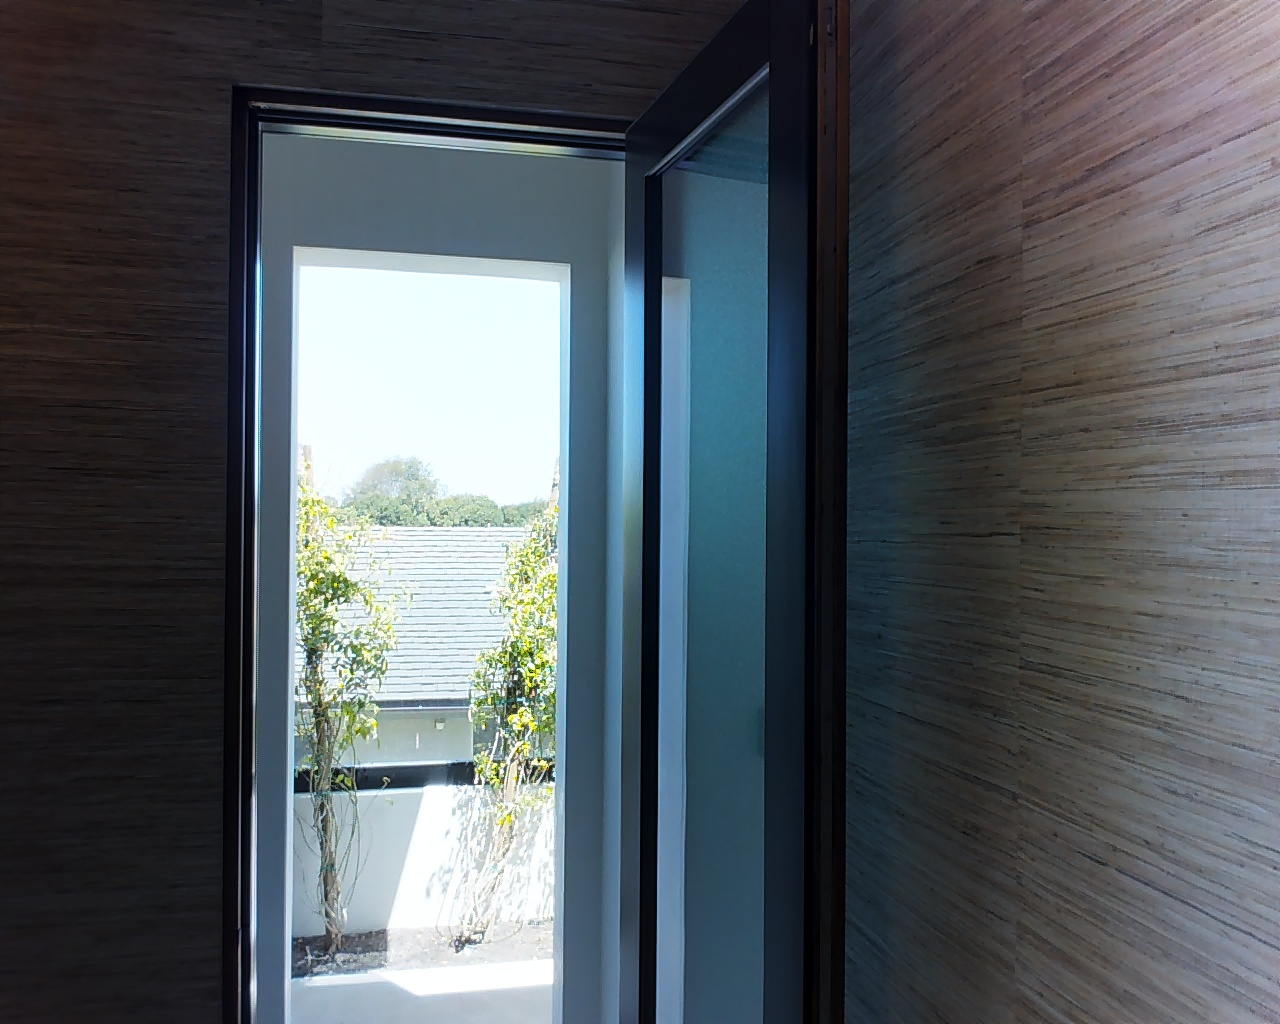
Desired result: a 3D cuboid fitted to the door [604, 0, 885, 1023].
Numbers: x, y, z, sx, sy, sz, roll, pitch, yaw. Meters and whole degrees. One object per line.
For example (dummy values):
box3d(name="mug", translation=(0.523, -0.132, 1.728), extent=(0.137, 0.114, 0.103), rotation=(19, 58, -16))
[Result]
box3d(name="door", translation=(0.110, 0.480, 1.600), extent=(0.120, 2.420, 0.750), rotation=(1, -1, -18))
